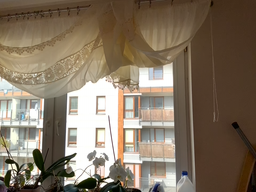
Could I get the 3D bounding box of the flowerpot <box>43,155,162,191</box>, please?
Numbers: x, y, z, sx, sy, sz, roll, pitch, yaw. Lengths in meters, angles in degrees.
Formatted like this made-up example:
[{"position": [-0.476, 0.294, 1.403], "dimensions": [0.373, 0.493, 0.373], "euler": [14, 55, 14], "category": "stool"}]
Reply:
[{"position": [-0.160, 0.720, 1.730], "dimensions": [0.820, 0.340, 0.560], "euler": [-1, -6, 12], "category": "flowerpot"}]
